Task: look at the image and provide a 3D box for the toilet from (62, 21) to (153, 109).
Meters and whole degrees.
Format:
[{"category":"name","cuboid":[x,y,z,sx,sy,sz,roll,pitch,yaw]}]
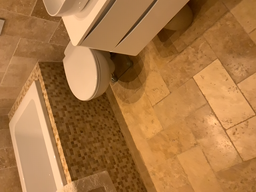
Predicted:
[{"category":"toilet","cuboid":[-0.180,-0.230,1.750,0.370,0.470,0.540,-41,63,37]}]
